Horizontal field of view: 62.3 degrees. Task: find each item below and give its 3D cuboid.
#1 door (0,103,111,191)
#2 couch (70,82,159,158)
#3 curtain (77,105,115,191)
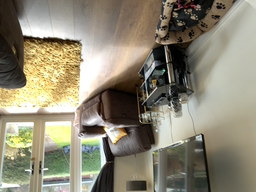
[{"bbox_3d":[-1.720,1.300,3.890,2.700,2.290,0.420,0,159,-14],"label":"door"},{"bbox_3d":[-0.290,0.500,3.670,0.970,0.960,1.160,11,154,-38],"label":"couch"},{"bbox_3d":[-0.620,1.290,3.990,0.640,2.240,0.330,-1,160,-12],"label":"curtain"}]
